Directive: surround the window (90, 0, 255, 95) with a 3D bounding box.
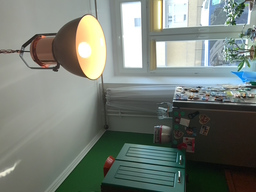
[{"bbox_3d":[0.610,-0.790,2.880,0.360,2.190,1.460,-40,-50,-70],"label":"window"}]

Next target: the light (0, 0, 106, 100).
[{"bbox_3d":[-0.500,-0.230,1.000,0.730,0.460,0.340,-25,-63,-61],"label":"light"}]

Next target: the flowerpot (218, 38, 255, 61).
[{"bbox_3d":[1.340,-0.530,2.420,0.330,0.530,0.240,-39,-51,-71],"label":"flowerpot"}]
